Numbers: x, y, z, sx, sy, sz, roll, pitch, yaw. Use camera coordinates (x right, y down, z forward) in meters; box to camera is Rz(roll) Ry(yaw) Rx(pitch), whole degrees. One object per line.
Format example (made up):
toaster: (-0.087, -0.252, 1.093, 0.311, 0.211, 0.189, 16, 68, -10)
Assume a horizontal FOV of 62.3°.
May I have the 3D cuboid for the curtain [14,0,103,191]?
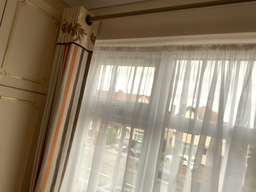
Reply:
curtain: (-0.470, 0.320, 1.270, 0.220, 1.850, 0.190, 8, -6, 28)
